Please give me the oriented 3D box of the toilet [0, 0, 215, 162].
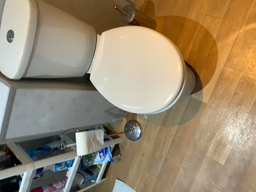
[{"bbox_3d":[-0.070,-0.140,1.010,0.650,0.830,0.400,26,104,31],"label":"toilet"}]
